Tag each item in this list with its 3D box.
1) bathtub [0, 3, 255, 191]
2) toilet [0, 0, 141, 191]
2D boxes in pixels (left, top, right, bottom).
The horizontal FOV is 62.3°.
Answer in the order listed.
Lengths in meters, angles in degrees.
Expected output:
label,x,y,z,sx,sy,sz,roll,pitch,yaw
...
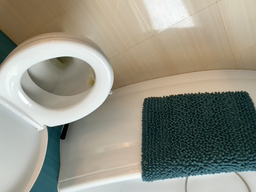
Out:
label,x,y,z,sx,sy,sz,roll,pitch,yaw
bathtub,0.390,0.370,1.320,1.740,0.610,1.190,-24,129,19
toilet,-0.290,0.010,0.770,0.520,0.810,0.370,-24,129,20
